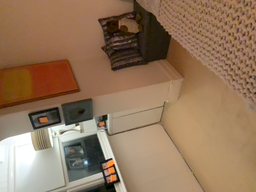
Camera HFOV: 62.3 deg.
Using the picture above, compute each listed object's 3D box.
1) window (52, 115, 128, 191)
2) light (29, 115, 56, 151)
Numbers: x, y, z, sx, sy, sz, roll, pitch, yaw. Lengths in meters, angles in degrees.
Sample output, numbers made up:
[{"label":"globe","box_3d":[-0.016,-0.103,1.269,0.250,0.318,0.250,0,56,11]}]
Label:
[{"label":"window","box_3d":[-0.240,1.580,2.390,0.330,0.730,3.180,96,155,-45]},{"label":"light","box_3d":[-1.160,0.510,2.890,0.360,0.250,0.280,96,155,-46]}]
